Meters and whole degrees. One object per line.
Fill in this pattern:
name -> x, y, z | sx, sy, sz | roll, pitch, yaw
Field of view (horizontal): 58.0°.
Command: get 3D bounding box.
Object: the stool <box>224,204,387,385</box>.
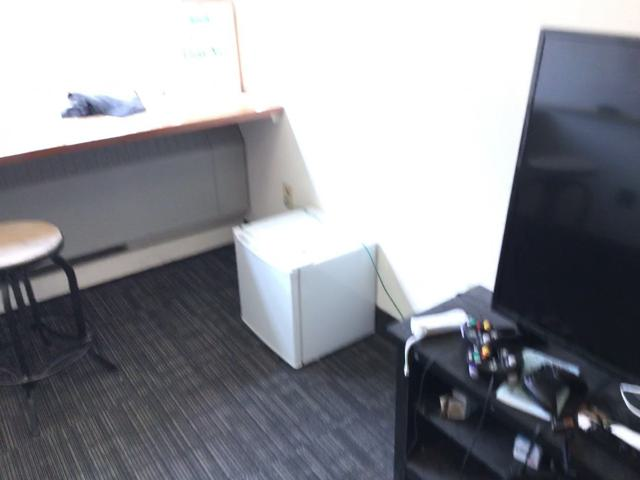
stool -> -0.060, 0.200, 2.470 | 0.460, 0.520, 0.500 | -17, 24, -29

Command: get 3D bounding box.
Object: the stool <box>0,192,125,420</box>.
stool -> -1.140, 0.220, 2.180 | 0.530, 0.590, 0.590 | -17, 24, -29
